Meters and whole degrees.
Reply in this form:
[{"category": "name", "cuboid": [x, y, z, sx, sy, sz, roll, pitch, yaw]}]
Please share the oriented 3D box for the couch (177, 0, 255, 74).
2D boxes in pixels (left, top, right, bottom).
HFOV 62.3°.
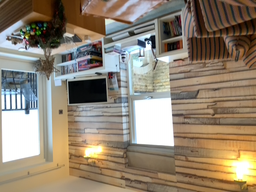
[{"category": "couch", "cuboid": [0.880, -0.670, 1.860, 0.820, 0.790, 0.860, -3, 177, 12]}]
